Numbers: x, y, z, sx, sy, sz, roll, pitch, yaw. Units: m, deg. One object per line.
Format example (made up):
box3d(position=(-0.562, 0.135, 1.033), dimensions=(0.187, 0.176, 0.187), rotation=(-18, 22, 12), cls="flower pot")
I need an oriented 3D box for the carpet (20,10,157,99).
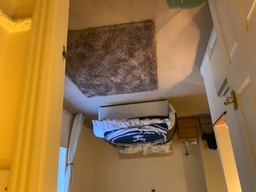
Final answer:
box3d(position=(-0.290, -0.370, 2.790), dimensions=(1.280, 0.120, 1.720), rotation=(-6, 159, 7), cls="carpet")
